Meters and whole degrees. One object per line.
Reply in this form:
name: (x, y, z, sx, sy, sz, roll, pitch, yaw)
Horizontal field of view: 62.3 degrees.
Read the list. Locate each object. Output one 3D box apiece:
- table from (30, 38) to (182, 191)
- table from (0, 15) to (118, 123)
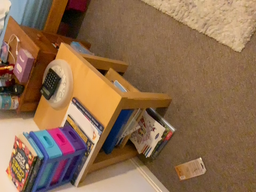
table: (-0.140, 0.080, 1.230, 0.530, 0.490, 0.540, 42, 114, 31)
table: (-0.500, -0.160, 1.450, 0.440, 0.600, 0.460, 42, 114, 31)
